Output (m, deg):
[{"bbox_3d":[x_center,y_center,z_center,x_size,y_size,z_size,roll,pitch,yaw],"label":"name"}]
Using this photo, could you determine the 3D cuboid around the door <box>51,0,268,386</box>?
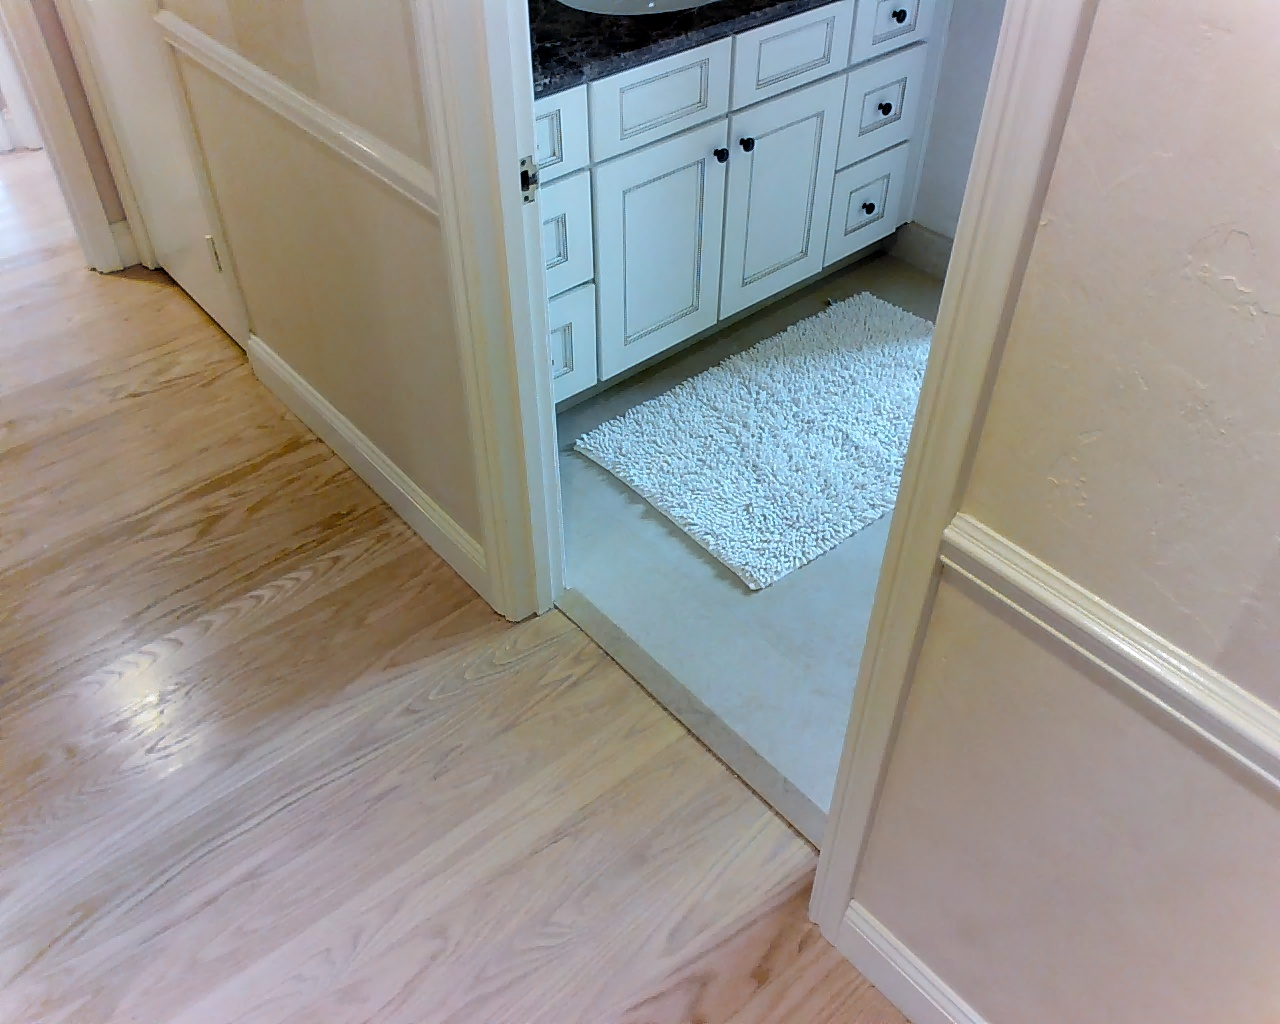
[{"bbox_3d":[-1.200,-1.280,2.260,0.040,2.050,0.750,-29,50,-28],"label":"door"}]
